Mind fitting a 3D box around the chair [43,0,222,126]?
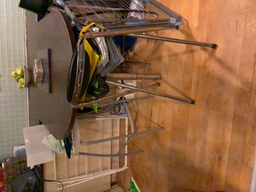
[{"bbox_3d":[0.010,-0.220,1.370,0.560,0.910,0.440,56,136,38],"label":"chair"}]
